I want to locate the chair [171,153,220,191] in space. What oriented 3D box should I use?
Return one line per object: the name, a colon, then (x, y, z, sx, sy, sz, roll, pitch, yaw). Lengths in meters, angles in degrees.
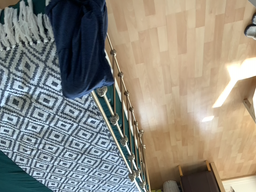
chair: (0.880, 1.330, 2.570, 0.440, 1.000, 0.610, -13, 135, 6)
